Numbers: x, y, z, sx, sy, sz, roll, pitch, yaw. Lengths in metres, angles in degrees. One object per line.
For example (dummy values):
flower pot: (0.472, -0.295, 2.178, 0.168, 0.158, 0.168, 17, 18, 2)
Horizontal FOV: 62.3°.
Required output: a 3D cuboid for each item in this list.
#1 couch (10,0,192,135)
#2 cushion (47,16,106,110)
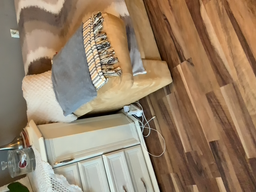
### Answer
couch: (-0.450, -0.860, 1.760, 1.090, 0.720, 2.070, -30, 71, 48)
cushion: (-0.330, -0.170, 1.260, 0.440, 0.100, 0.370, -33, 68, 47)
